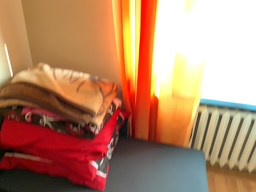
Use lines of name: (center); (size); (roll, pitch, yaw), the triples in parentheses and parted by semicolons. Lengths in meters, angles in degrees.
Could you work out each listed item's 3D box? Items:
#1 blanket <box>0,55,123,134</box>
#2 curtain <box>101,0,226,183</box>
blanket: (-0.470, -0.060, 1.520); (0.740, 0.230, 0.570); (9, 30, 11)
curtain: (0.200, -0.470, 1.390); (0.710, 2.600, 0.230); (8, 30, 9)
